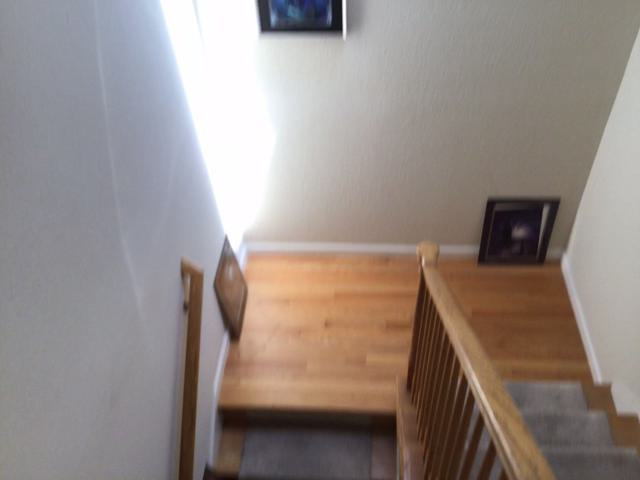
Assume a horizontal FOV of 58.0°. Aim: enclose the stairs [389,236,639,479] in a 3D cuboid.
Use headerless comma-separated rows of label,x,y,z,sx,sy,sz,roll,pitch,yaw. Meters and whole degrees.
stairs,0.790,0.840,1.840,1.080,1.070,1.300,1,49,5
